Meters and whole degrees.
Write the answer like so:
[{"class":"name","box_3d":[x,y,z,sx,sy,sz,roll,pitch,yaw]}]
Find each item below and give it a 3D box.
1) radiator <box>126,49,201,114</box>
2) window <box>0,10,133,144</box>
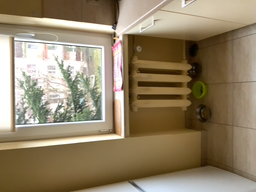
[{"class":"radiator","box_3d":[0.330,-0.120,1.910,0.190,0.670,0.510,-176,85,-66]},{"class":"window","box_3d":[-0.700,-0.130,1.550,0.110,1.570,0.900,-178,88,-66]}]
